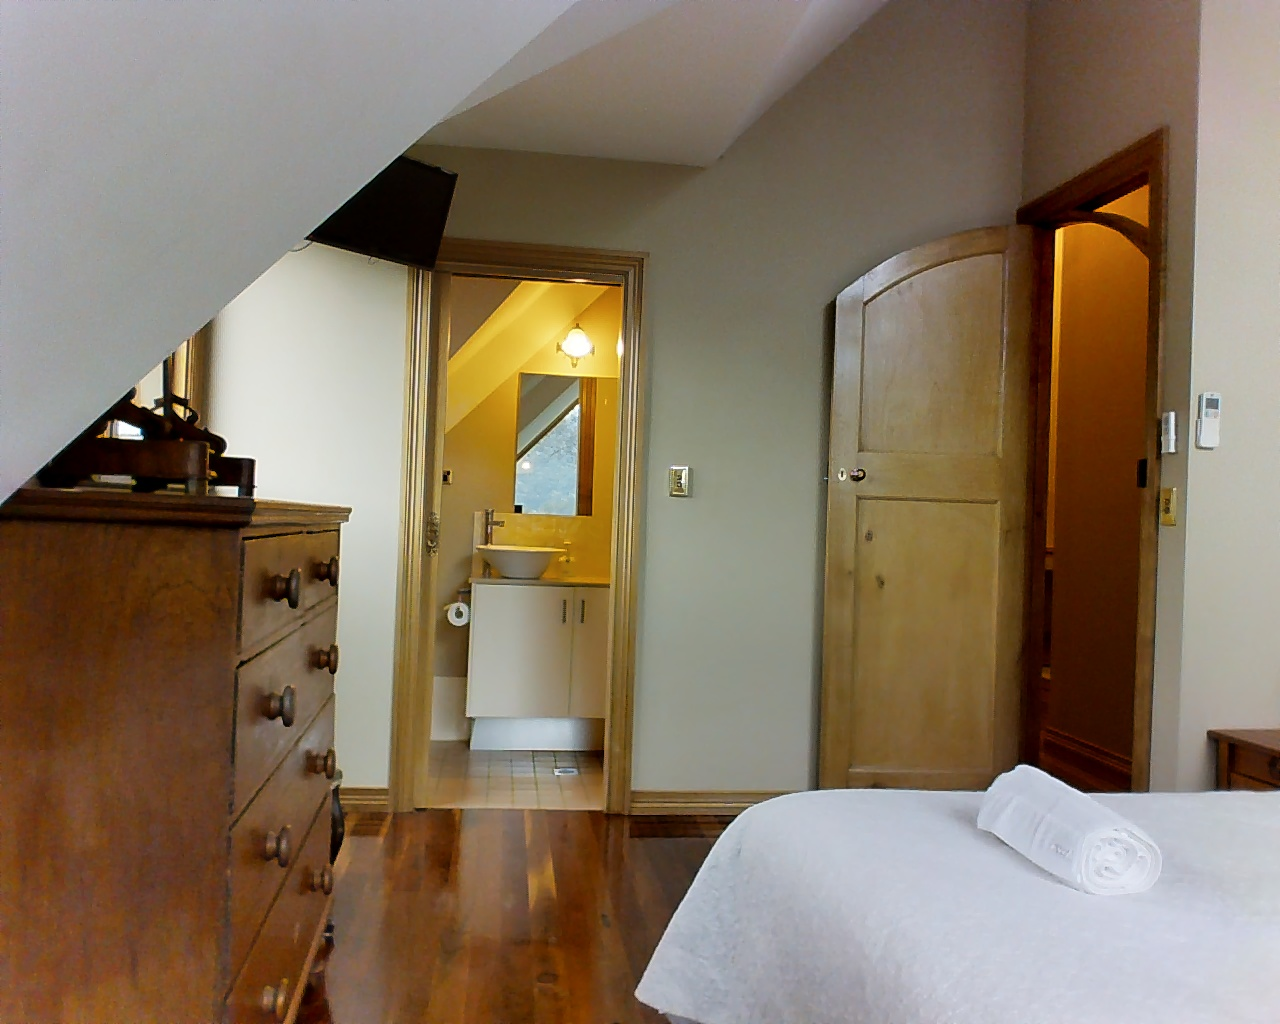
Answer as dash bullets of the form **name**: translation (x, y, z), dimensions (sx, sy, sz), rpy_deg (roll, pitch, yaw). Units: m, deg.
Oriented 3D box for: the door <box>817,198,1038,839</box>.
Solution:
- **door**: translation (1.109, 0.030, 4.160), dimensions (0.780, 2.431, 0.080), rpy_deg (2, -1, -5)
